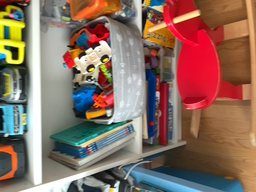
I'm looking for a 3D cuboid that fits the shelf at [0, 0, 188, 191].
[{"bbox_3d":[-0.150,-0.120,0.910,0.280,1.060,0.800,3,93,46],"label":"shelf"}]
